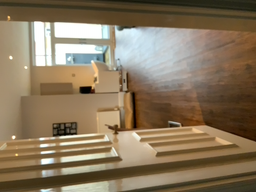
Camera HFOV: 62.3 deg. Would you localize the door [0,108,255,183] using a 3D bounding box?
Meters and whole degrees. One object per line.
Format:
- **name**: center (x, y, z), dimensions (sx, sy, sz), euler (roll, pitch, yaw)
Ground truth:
- **door**: center (-0.170, 0.320, 1.760), dimensions (0.940, 2.280, 0.140), euler (-157, 64, -74)
